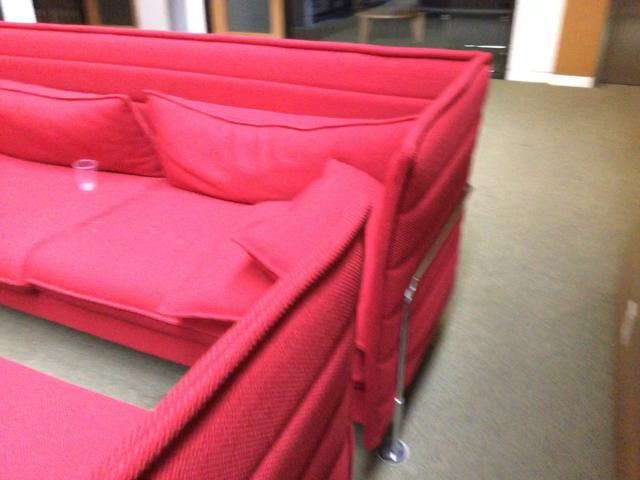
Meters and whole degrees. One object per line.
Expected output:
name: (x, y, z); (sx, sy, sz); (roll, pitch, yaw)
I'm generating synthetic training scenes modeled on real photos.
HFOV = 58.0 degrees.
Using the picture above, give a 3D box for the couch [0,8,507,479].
couch: (-0.780, -0.230, 1.990); (2.490, 0.880, 0.980); (12, 31, 22)
